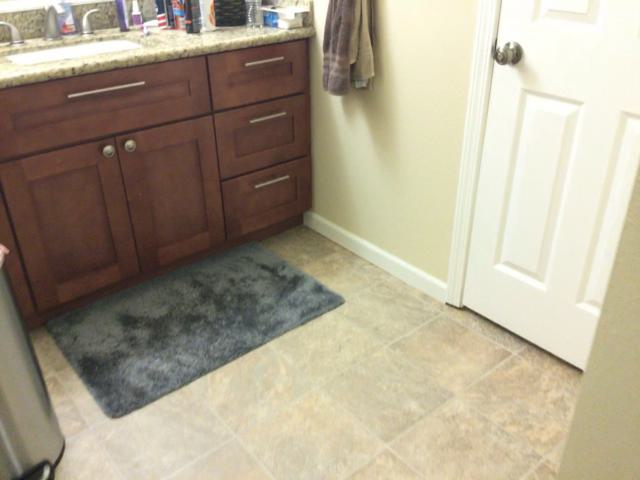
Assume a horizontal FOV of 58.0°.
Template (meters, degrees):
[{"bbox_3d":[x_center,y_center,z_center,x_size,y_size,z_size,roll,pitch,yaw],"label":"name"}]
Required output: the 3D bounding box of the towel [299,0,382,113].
[{"bbox_3d":[0.070,-0.720,2.070,0.160,0.460,0.260,-21,33,-34],"label":"towel"}]

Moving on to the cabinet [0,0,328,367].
[{"bbox_3d":[-0.810,-0.340,2.140,1.680,1.100,0.580,-21,33,-34],"label":"cabinet"}]
